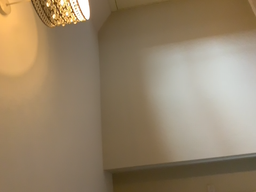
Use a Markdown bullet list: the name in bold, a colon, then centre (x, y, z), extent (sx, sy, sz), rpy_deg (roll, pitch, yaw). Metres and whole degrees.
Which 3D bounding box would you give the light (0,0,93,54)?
- **light**: centre (-0.430, -0.450, 1.010), extent (0.450, 0.320, 0.300), rpy_deg (-7, 155, 2)
